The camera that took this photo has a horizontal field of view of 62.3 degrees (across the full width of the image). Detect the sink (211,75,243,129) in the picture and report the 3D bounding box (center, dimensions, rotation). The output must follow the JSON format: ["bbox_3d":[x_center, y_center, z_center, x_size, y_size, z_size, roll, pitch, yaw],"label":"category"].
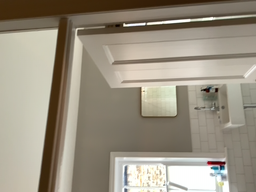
[{"bbox_3d":[1.220,0.100,2.670,0.510,0.170,0.580,63,-153,-73],"label":"sink"}]
